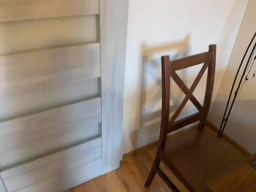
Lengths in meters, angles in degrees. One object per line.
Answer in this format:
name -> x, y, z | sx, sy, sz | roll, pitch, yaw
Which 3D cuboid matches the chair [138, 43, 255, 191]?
chair -> 0.400, 0.280, 1.180 | 0.410, 0.970, 0.480 | -15, 39, -26
